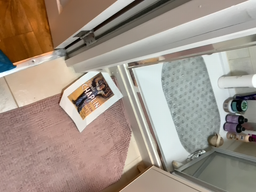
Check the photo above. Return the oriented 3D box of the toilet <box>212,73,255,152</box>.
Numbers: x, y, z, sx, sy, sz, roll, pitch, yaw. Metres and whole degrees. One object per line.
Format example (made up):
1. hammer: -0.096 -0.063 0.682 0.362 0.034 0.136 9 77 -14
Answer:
1. toilet: 0.740 0.100 1.360 0.160 0.240 0.460 -23 102 -29
